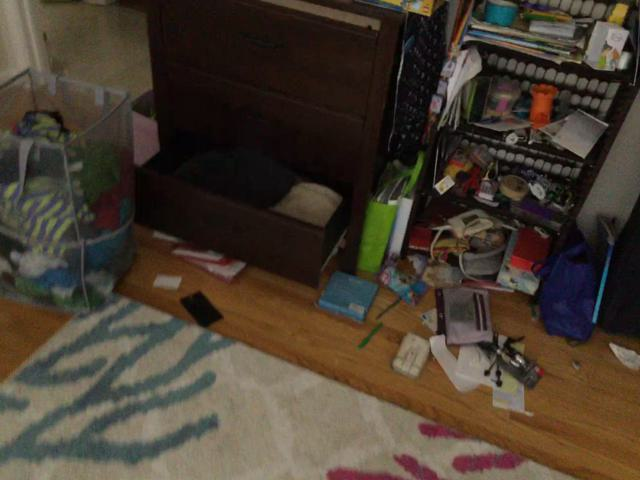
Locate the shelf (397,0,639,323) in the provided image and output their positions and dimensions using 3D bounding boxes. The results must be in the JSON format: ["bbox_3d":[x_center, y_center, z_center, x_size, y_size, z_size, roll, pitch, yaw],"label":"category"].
[{"bbox_3d":[0.660,-0.340,1.800,0.630,1.120,0.310,18,40,17],"label":"shelf"}]
